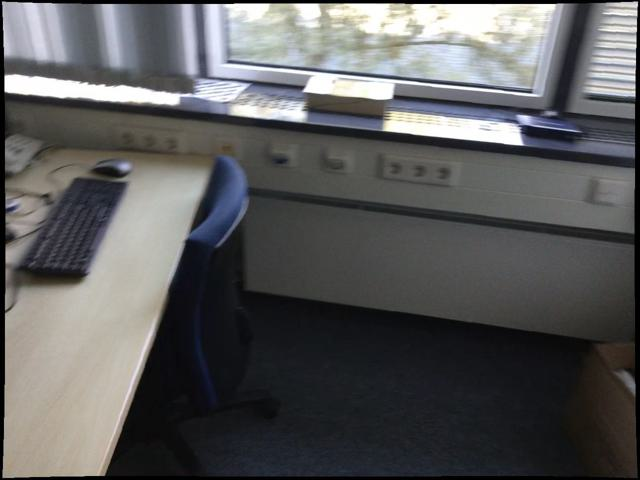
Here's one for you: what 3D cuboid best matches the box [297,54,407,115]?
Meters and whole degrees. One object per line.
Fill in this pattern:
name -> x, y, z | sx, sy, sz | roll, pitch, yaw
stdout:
box -> 0.110, -0.511, 1.880 | 0.330, 0.080, 0.300 | 6, 33, 3
